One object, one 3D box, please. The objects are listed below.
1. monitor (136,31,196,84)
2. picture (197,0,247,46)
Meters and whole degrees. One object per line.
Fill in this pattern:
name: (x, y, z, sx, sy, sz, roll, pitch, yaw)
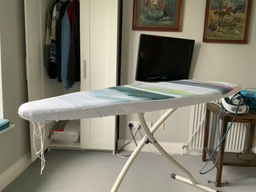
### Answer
monitor: (0.410, -0.370, 2.180, 0.680, 0.470, 0.040, 1, 12, -30)
picture: (1.000, -0.850, 2.250, 0.460, 0.600, 0.010, 3, 10, 6)
